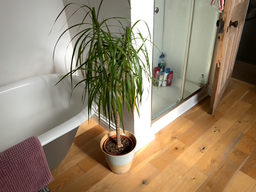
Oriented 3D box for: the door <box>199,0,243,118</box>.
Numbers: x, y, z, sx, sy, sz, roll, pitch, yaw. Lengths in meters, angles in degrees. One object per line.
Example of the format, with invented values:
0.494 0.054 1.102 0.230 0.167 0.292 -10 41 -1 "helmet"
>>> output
0.880 -0.860 1.740 0.080 2.070 0.790 16 38 26 "door"
